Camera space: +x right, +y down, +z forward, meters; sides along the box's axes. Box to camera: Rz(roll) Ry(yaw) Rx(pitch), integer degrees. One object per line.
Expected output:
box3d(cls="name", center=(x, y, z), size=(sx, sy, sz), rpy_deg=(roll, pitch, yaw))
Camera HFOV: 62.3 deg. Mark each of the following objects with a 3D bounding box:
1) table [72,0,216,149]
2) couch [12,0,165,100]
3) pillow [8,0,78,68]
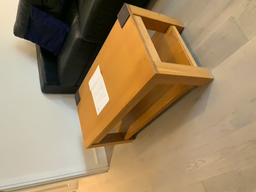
box3d(cls="table", center=(0.000, -0.070, 1.570), size=(1.010, 0.450, 0.550), rpy_deg=(-47, 52, 46))
box3d(cls="couch", center=(-0.490, -0.870, 1.960), size=(1.900, 0.830, 1.020), rpy_deg=(-46, 53, 46))
box3d(cls="pillow", center=(-0.900, -0.660, 2.320), size=(0.560, 0.490, 0.290), rpy_deg=(76, 176, -60))
